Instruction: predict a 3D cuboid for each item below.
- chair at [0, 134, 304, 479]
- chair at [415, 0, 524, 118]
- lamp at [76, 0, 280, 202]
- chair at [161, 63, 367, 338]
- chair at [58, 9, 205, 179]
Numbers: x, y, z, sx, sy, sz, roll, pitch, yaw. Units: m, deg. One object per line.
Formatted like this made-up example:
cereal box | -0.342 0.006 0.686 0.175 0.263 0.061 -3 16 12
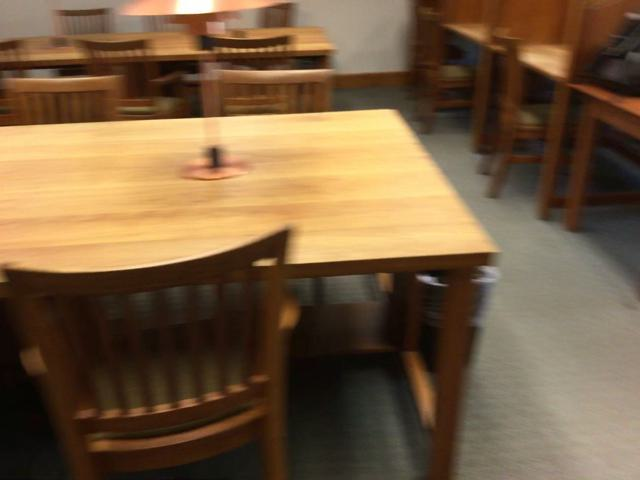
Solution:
chair | -0.350 0.320 1.370 0.570 0.940 0.620 -4 29 -1
chair | 1.140 -1.510 4.540 0.650 0.920 0.550 -4 29 -1
lamp | -0.360 -0.460 1.680 0.440 0.550 0.400 -4 29 -1
chair | -0.180 -0.180 2.400 0.670 0.910 0.640 -4 29 -1
chair | -1.190 -0.980 3.850 0.640 0.930 0.620 -4 29 -1
